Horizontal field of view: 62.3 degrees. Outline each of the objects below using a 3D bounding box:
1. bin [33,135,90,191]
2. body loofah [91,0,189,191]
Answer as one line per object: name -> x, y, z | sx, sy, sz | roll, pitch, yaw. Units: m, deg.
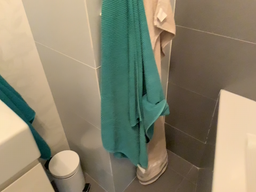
bin -> -0.390, 0.440, 1.280 | 0.230, 0.280, 0.180 | 29, 47, 34
body loofah -> 0.050, -0.030, 0.830 | 0.200, 1.160, 0.220 | 26, 46, 31
